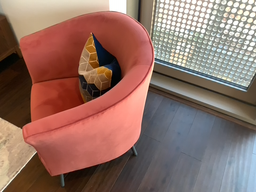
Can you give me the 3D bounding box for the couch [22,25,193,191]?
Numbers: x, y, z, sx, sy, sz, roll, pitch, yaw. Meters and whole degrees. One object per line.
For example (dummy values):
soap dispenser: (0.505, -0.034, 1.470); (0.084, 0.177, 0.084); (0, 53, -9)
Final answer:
couch: (-0.110, 0.110, 1.290); (0.620, 0.750, 0.730); (-3, 47, -5)
